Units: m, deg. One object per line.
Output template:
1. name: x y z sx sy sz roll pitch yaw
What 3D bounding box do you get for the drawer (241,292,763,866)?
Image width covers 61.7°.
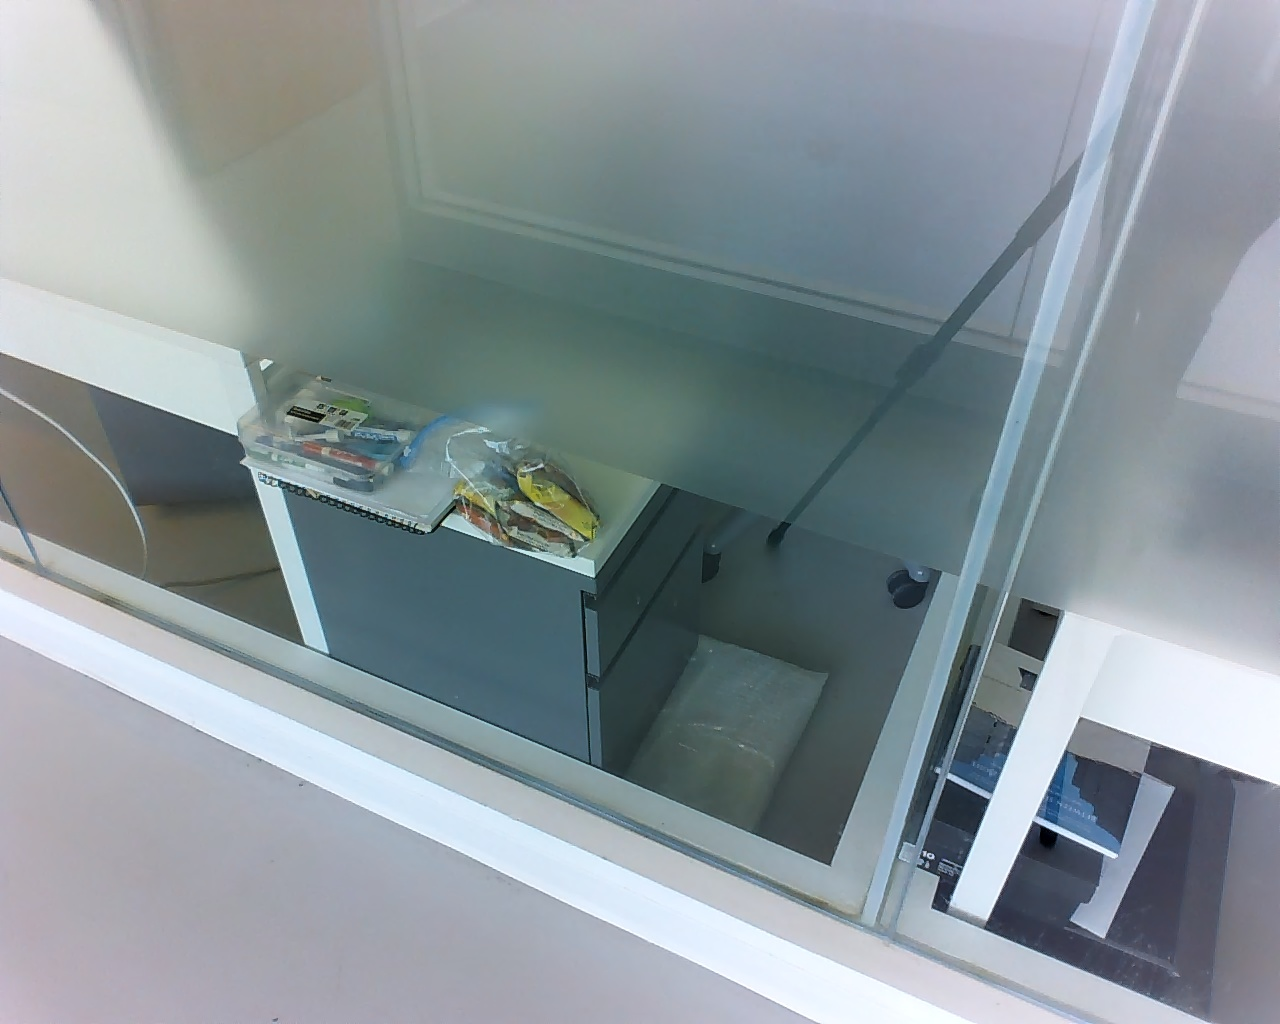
1. drawer: -0.170 0.090 1.670 0.540 0.590 0.490 17 45 19
